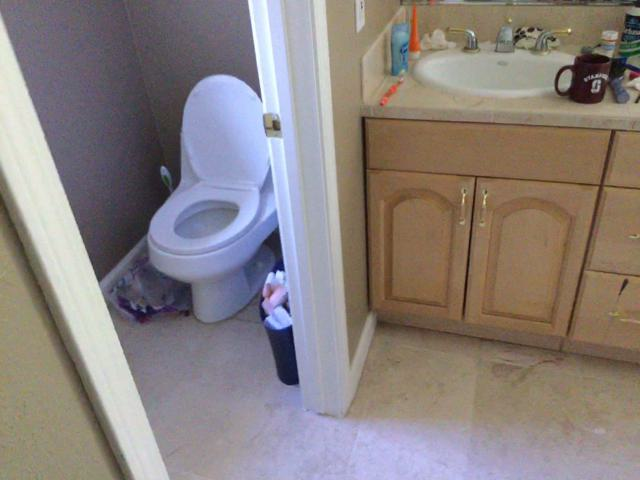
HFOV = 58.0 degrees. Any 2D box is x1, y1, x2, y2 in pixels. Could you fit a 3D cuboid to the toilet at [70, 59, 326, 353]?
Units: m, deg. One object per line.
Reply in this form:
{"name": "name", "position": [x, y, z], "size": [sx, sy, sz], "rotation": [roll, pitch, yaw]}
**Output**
{"name": "toilet", "position": [-0.350, -0.160, 2.080], "size": [0.490, 0.770, 0.700], "rotation": [7, 34, 19]}

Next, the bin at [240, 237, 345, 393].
{"name": "bin", "position": [-0.070, 0.230, 1.850], "size": [0.190, 0.330, 0.340], "rotation": [7, 34, 19]}
